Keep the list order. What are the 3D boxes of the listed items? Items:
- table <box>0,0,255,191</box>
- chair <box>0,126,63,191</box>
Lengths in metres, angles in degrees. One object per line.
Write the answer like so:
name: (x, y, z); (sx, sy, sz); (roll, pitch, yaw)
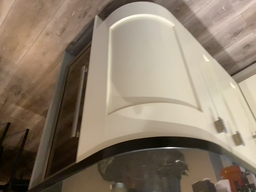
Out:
table: (0.240, 0.270, 1.390); (0.990, 0.900, 1.490); (-33, 132, 31)
chair: (-1.010, 0.810, 2.000); (0.460, 0.830, 0.470); (-33, 131, 31)
